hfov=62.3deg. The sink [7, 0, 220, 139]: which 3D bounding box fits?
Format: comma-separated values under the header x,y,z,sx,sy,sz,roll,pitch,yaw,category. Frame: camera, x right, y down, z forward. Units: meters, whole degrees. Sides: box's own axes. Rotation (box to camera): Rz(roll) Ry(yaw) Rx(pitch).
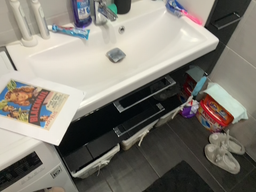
x,y,z,sx,sy,sz,roll,pitch,yaw,category
-0.040,-0.190,0.920,0.770,0.120,0.410,-27,61,-22,sink
